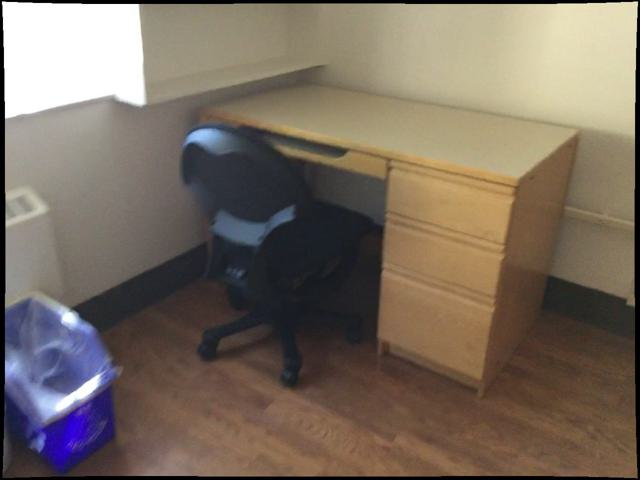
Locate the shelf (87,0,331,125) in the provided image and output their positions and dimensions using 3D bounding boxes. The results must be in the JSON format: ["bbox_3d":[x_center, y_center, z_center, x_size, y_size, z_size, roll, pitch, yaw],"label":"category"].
[{"bbox_3d":[-0.330,-1.211,1.930,0.270,1.421,0.980,19,32,29],"label":"shelf"}]

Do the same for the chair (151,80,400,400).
[{"bbox_3d":[-0.130,-0.040,1.960,0.520,0.821,0.570,19,32,30],"label":"chair"}]
